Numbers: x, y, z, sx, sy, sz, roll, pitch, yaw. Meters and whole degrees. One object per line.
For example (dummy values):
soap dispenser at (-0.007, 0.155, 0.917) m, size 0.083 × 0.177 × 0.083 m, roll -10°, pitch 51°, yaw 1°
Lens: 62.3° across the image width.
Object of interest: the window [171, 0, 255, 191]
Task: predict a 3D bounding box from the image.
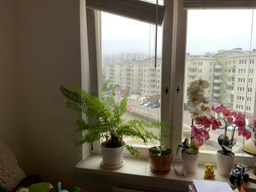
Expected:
window at (0.710, 0.010, 1.620) m, size 0.690 × 1.450 × 0.260 m, roll 2°, pitch 7°, yaw 12°
